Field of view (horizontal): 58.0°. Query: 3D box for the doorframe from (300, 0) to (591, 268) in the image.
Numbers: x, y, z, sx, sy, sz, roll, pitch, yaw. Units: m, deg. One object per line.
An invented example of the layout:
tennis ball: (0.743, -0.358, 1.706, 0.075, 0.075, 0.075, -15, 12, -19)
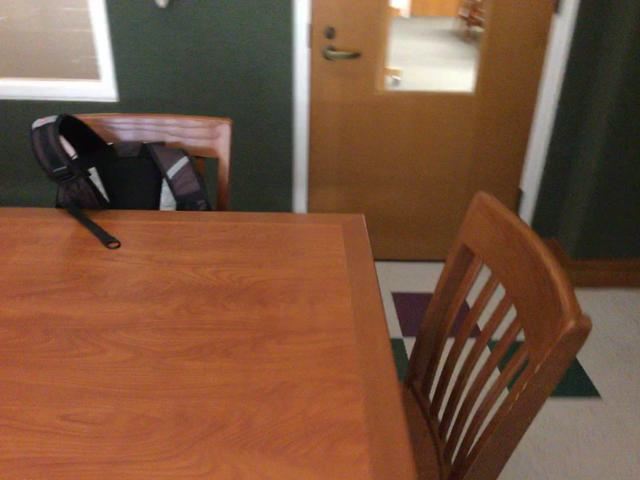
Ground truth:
doorframe: (0.440, -0.770, 2.090, 1.020, 1.990, 0.050, 1, 28, -1)
